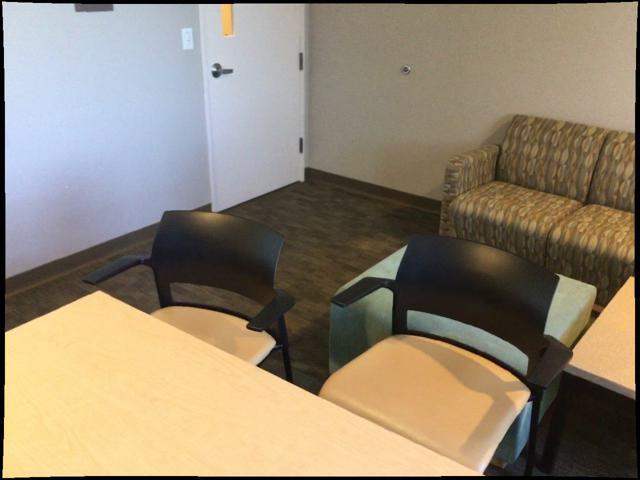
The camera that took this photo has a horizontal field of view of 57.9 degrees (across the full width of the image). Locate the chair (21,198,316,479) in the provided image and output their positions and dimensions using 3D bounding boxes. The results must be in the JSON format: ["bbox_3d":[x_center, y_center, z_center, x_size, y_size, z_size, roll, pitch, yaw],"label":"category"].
[{"bbox_3d":[-0.380,0.370,1.710,0.569,0.781,0.530,10,27,15],"label":"chair"}]

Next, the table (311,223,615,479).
[{"bbox_3d":[0.549,0.370,2.240,0.869,0.440,0.770,18,30,30],"label":"table"}]

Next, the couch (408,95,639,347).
[{"bbox_3d":[1.578,-0.100,2.920,1.949,0.831,0.950,18,30,30],"label":"couch"}]

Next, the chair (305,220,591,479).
[{"bbox_3d":[0.360,0.440,1.700,0.540,0.731,0.610,18,30,30],"label":"chair"}]
